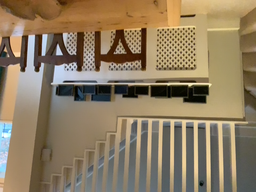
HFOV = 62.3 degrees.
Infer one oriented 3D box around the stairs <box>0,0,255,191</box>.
[{"bbox_3d":[0.600,0.430,2.590,3.480,3.080,1.930,0,170,15],"label":"stairs"}]
